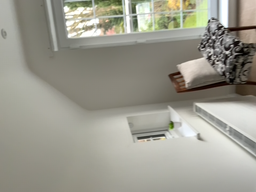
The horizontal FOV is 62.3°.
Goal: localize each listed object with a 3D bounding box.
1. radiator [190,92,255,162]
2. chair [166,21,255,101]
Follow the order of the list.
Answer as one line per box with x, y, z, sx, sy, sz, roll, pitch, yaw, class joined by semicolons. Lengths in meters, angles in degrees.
1.040;0.200;1.580;1.220;0.690;0.140;-116;21;-75;radiator
0.900;-0.360;2.160;0.450;0.860;0.570;-102;7;-46;chair
